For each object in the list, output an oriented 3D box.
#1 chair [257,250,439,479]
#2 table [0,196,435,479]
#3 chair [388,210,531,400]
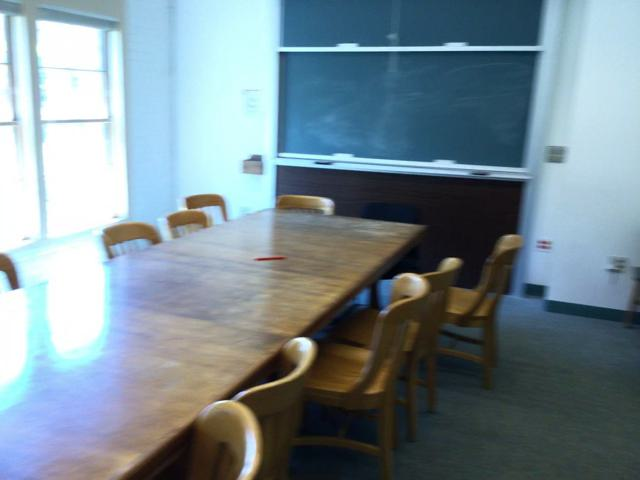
[{"bbox_3d":[0.130,0.550,2.450,0.580,0.860,0.540,8,13,19],"label":"chair"},{"bbox_3d":[-0.540,0.510,2.520,1.440,0.880,3.540,8,13,19],"label":"table"},{"bbox_3d":[0.800,0.330,3.300,0.650,0.870,0.520,8,13,19],"label":"chair"}]
